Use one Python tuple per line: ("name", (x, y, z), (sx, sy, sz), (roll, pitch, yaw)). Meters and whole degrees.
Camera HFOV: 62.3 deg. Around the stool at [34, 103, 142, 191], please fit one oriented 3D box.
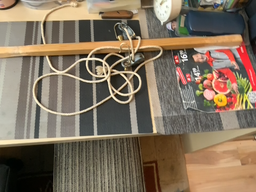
("stool", (-0.170, 0.280, 0.980), (0.380, 0.370, 0.370), (-4, 70, -6))
